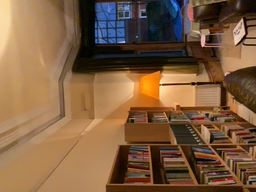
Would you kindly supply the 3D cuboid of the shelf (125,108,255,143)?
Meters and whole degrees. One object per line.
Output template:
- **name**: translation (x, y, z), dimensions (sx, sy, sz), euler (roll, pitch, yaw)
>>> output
- **shelf**: translation (0.960, 0.450, 3.480), dimensions (0.800, 1.960, 0.350), euler (-67, -24, -81)

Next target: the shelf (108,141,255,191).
- **shelf**: translation (0.860, 0.700, 1.890), dimensions (0.780, 1.960, 0.310), euler (-67, -24, -81)
